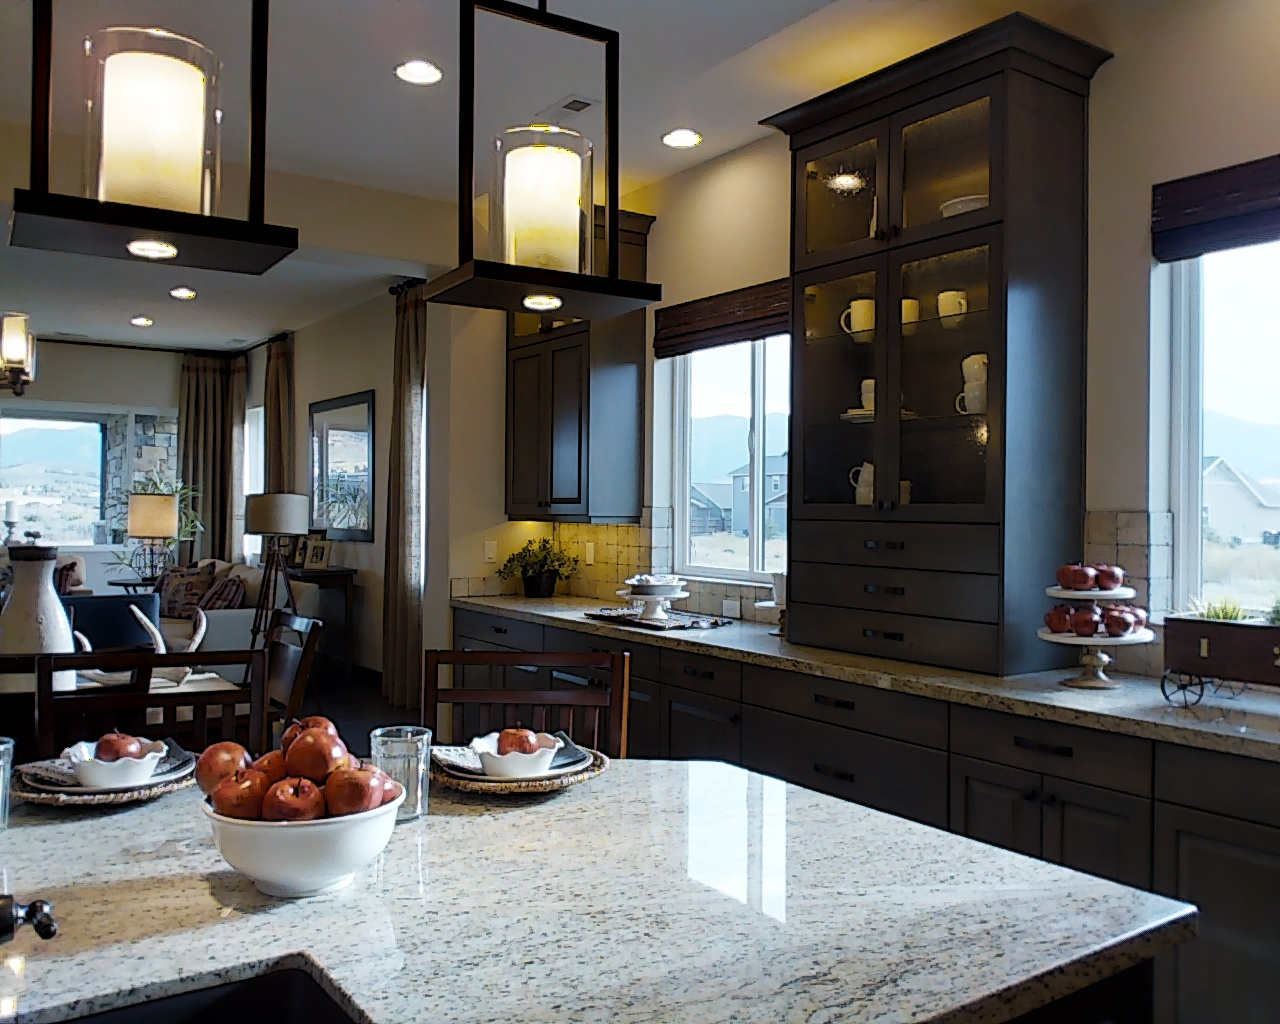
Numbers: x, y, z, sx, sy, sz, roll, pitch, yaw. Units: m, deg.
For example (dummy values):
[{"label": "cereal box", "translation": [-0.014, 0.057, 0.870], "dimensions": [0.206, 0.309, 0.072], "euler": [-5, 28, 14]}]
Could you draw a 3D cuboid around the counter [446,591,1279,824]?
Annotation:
[{"label": "counter", "translation": [0.770, 0.570, 3.780], "dimensions": [0.660, 0.210, 5.280], "euler": [1, 0, -36]}]

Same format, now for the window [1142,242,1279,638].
[{"label": "window", "translation": [1.800, -0.200, 3.060], "dimensions": [0.150, 1.100, 0.650], "euler": [1, 0, -36]}]

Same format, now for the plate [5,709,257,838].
[{"label": "plate", "translation": [-0.890, 0.440, 1.860], "dimensions": [0.320, 0.110, 0.360], "euler": [1, 0, -39]}]
